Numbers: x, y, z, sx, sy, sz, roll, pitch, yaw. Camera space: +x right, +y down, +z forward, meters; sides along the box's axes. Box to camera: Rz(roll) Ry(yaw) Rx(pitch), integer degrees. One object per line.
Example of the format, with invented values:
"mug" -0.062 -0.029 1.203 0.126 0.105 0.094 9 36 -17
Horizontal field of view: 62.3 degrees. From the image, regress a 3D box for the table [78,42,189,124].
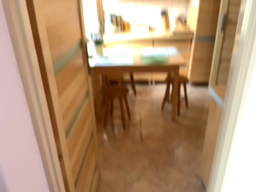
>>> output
"table" 0.060 -0.260 3.090 1.260 0.790 1.130 -1 26 -1
